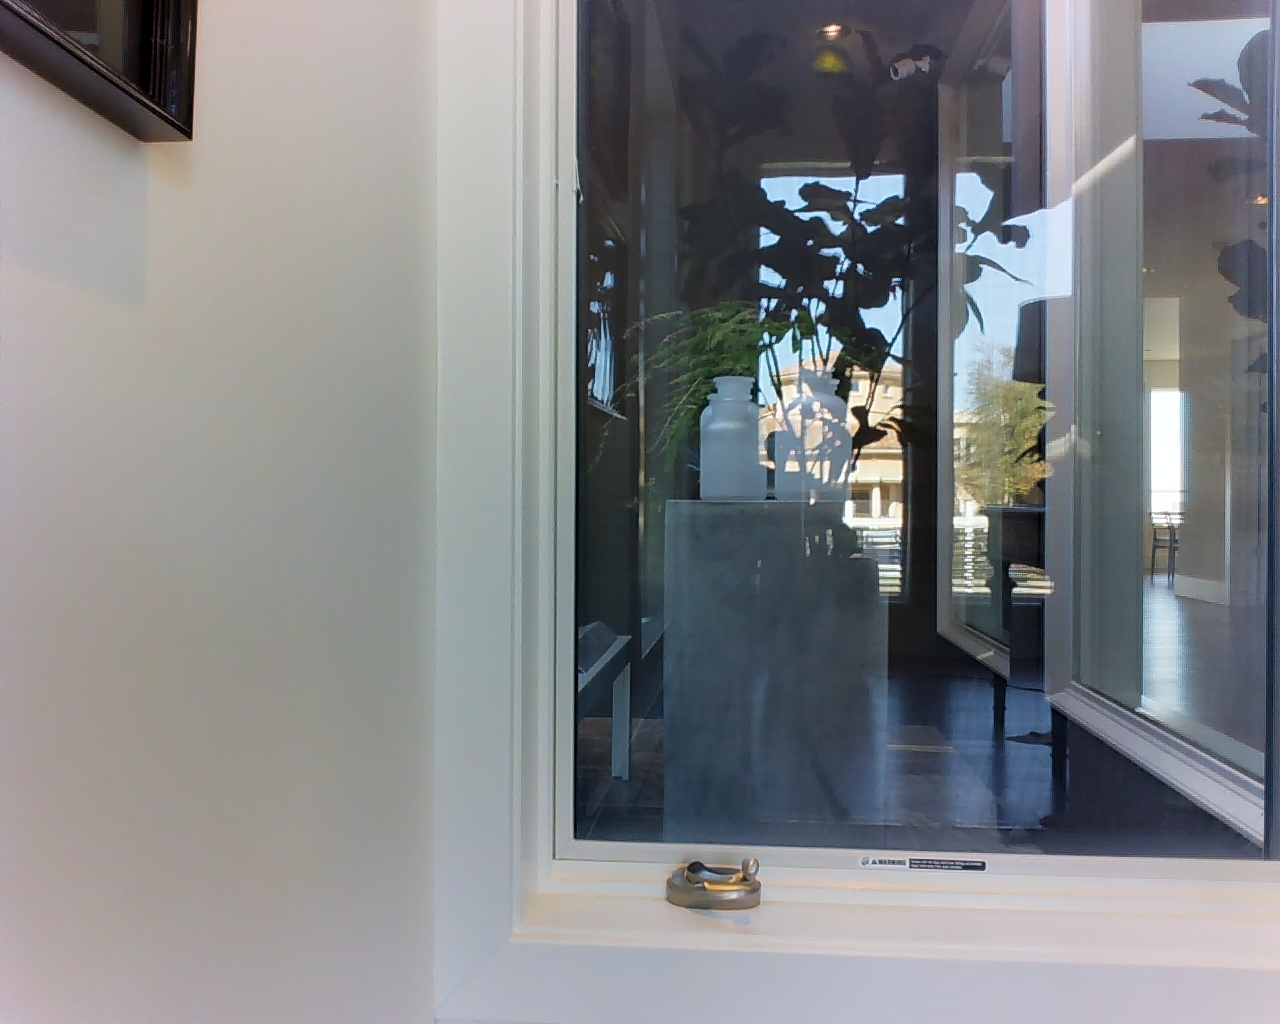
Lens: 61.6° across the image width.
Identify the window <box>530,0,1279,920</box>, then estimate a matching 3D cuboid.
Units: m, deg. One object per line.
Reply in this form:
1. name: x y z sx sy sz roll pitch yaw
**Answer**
1. window: 0.300 -0.450 1.240 0.840 1.780 0.080 0 0 6
